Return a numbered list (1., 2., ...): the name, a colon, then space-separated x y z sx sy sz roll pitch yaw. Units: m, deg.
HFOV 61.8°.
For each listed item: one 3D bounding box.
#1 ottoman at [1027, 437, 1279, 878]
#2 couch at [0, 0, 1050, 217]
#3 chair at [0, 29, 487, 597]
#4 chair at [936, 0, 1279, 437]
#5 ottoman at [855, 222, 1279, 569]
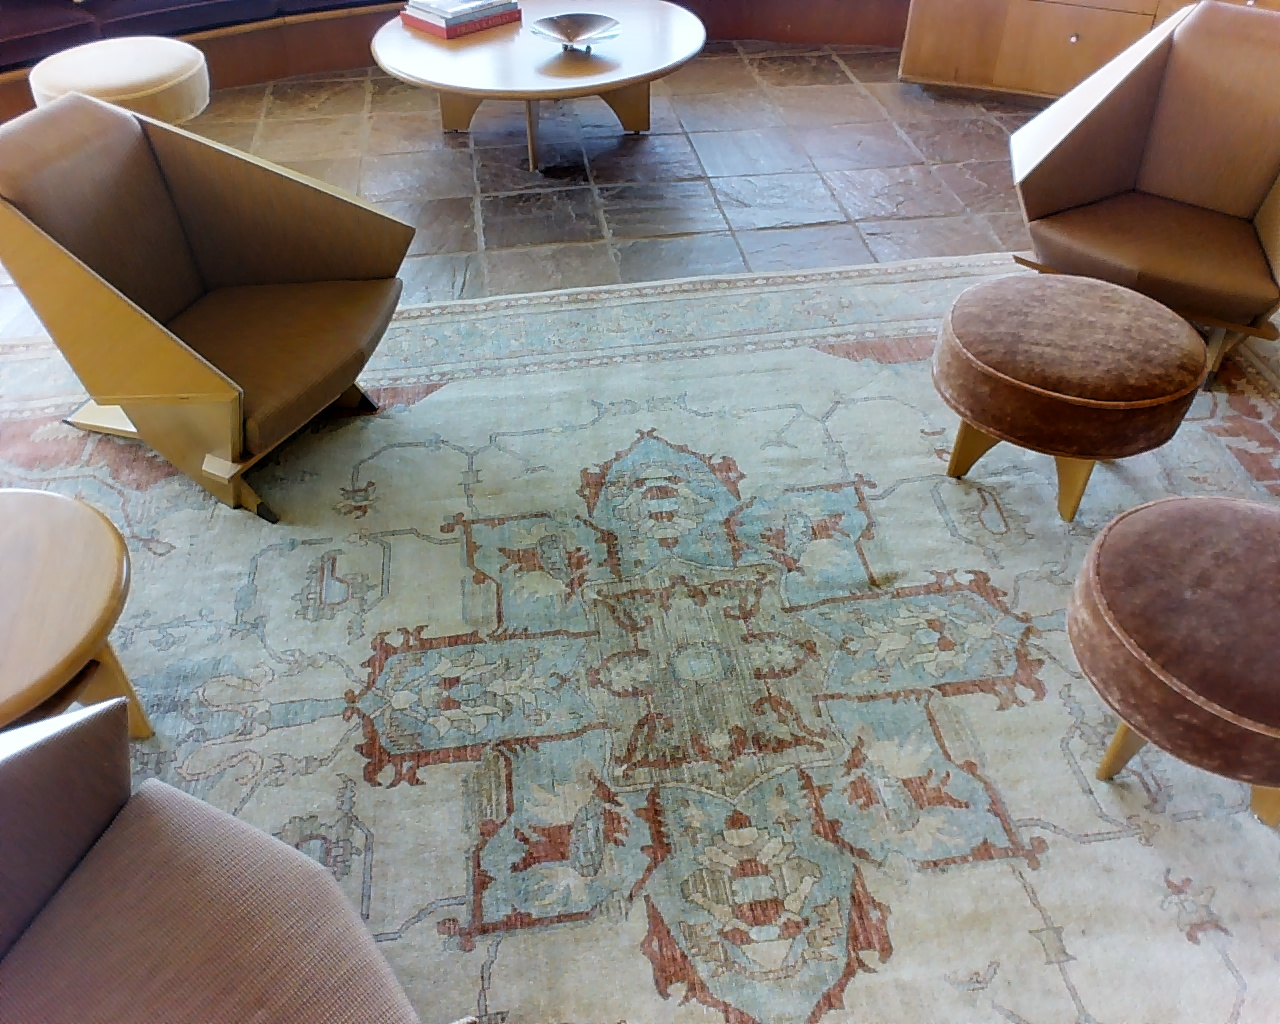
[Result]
1. ottoman: 1.040 0.250 1.880 0.600 0.390 0.600 10 43 12
2. couch: -1.290 -2.161 4.260 5.949 0.890 1.650 -15 44 -16
3. chair: -0.980 -0.510 2.460 0.810 0.760 0.990 15 44 16
4. chair: 1.490 -0.860 2.860 0.990 0.760 0.840 24 47 25
5. ottoman: 0.950 -0.300 2.480 0.560 0.380 0.650 -21 46 -22
